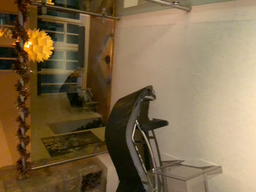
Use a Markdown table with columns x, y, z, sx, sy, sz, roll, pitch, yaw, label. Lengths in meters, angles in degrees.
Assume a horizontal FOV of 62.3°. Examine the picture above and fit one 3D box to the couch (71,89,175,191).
| x | y | z | sx | sy | sz | roll | pitch | yaw | label |
| --- | --- | --- | --- | --- | --- | --- | --- | --- | --- |
| -0.030 | 0.670 | 1.970 | 0.500 | 0.690 | 1.370 | -18 | 79 | 54 | couch |
